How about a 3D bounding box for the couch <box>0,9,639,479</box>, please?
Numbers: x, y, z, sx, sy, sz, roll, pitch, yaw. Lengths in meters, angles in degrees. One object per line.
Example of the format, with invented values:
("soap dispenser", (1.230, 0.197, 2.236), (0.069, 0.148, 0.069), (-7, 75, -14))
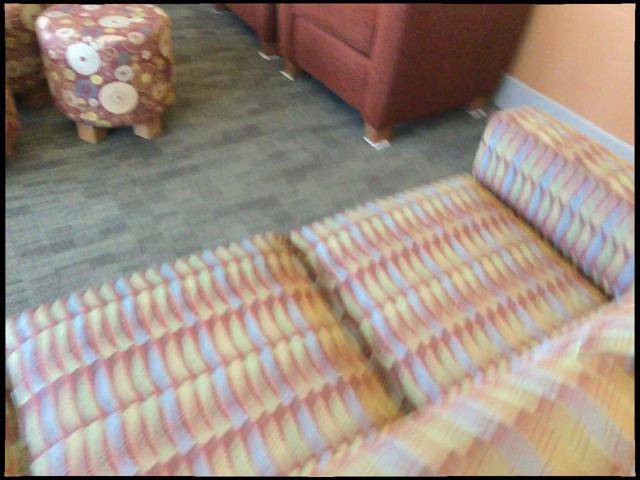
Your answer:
("couch", (-0.160, 0.331, 0.870), (1.917, 0.821, 0.880), (-18, 47, -25))
